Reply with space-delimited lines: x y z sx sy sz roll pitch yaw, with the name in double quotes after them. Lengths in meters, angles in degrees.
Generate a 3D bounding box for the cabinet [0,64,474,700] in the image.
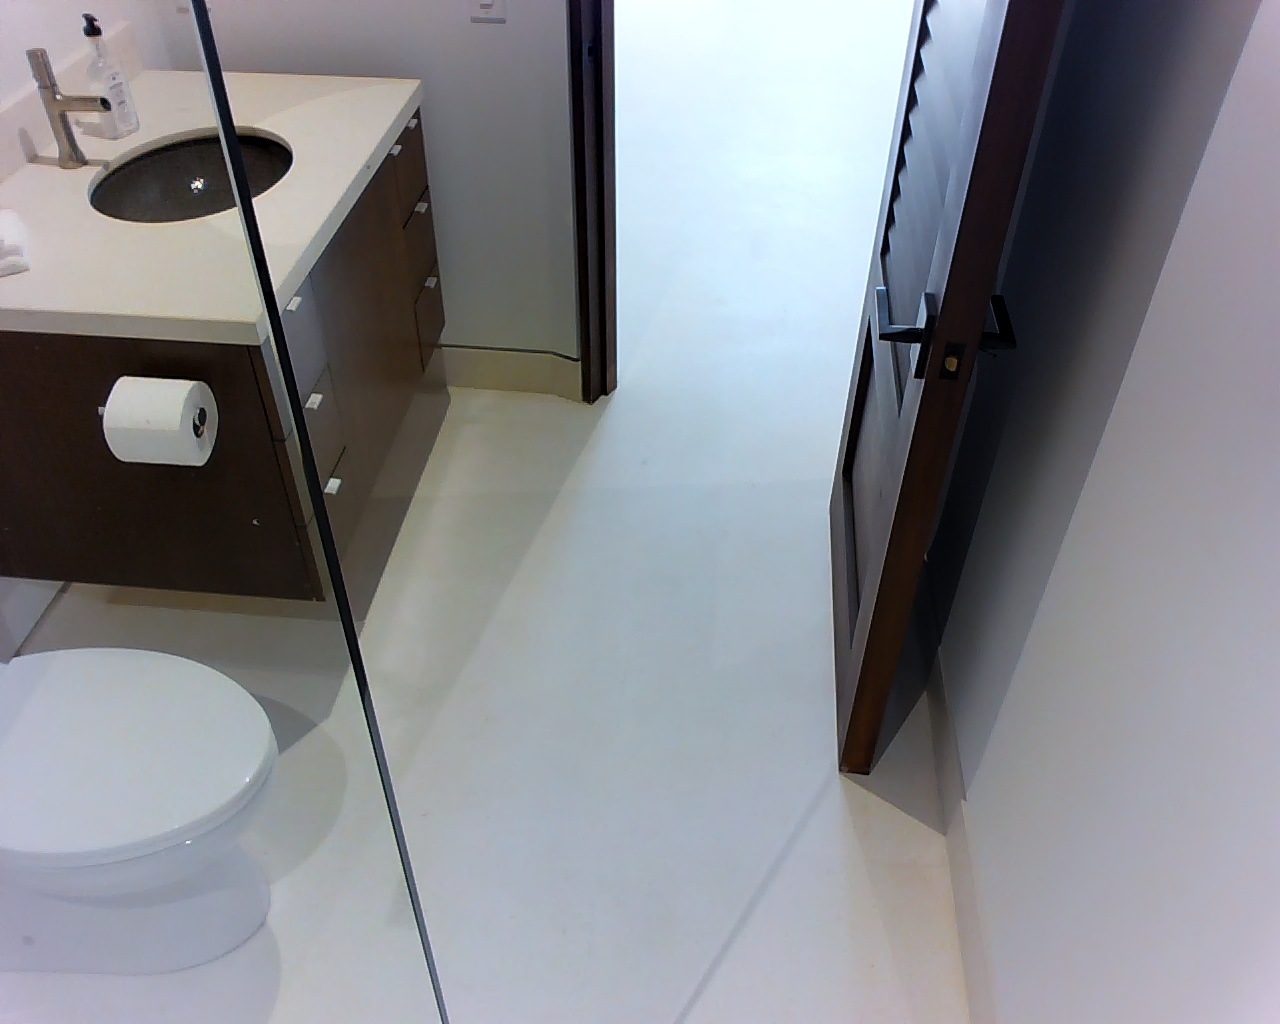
-0.820 -0.320 2.230 0.640 0.820 1.080 4 41 4 "cabinet"
